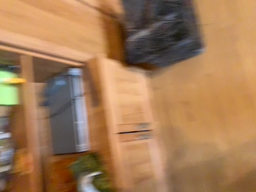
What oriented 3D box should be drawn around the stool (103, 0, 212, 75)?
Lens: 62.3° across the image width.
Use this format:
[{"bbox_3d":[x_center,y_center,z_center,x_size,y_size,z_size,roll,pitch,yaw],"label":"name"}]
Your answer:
[{"bbox_3d":[0.150,-0.440,1.190,0.400,0.360,0.490,-20,73,37],"label":"stool"}]
